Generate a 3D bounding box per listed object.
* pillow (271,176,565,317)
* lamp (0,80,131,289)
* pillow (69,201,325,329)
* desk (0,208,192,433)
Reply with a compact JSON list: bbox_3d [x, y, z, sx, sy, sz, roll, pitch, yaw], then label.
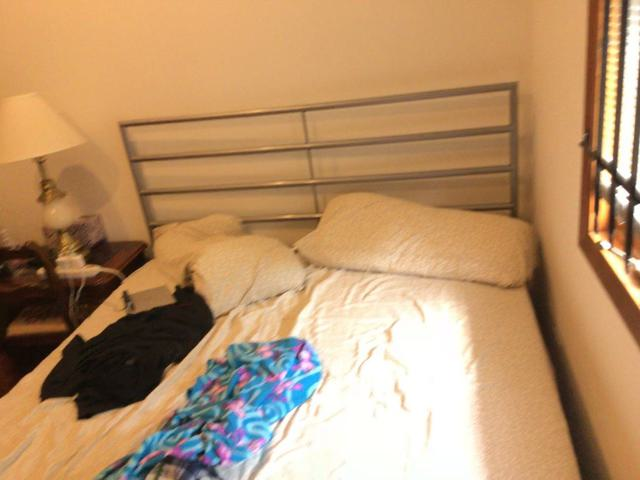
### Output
[{"bbox_3d":[0.340,0.010,2.090,0.900,0.270,0.540,-3,23,10],"label":"pillow"},{"bbox_3d":[-1.080,-0.220,2.280,0.360,0.720,0.370,-3,23,10],"label":"lamp"},{"bbox_3d":[-0.400,0.070,2.160,0.740,0.180,0.660,-3,23,10],"label":"pillow"},{"bbox_3d":[-1.370,0.350,2.540,1.350,0.760,0.540,-3,23,10],"label":"desk"}]
